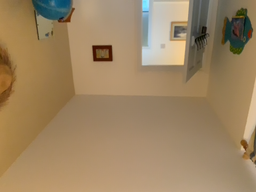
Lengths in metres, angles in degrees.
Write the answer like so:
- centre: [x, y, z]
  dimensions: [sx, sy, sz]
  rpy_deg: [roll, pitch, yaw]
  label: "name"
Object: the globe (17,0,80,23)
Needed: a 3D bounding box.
- centre: [-0.620, -0.800, 1.680]
  dimensions: [0.340, 0.400, 0.380]
  rpy_deg: [1, -158, 5]
  label: "globe"
